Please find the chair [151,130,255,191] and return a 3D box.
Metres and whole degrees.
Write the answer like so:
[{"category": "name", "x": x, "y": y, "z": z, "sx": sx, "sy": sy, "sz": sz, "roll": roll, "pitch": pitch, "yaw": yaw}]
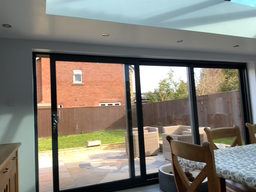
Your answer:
[{"category": "chair", "x": 0.560, "y": 0.750, "z": 1.430, "sx": 0.610, "sy": 0.950, "sz": 0.470, "roll": -1, "pitch": -4, "yaw": -22}]
